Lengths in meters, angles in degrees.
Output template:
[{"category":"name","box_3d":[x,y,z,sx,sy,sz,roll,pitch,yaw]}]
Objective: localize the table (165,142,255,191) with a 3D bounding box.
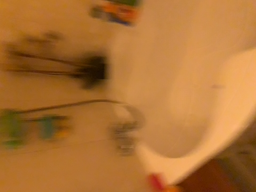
[{"category":"table","box_3d":[0.570,0.530,1.220,0.350,0.530,0.310,-57,49,35]}]
